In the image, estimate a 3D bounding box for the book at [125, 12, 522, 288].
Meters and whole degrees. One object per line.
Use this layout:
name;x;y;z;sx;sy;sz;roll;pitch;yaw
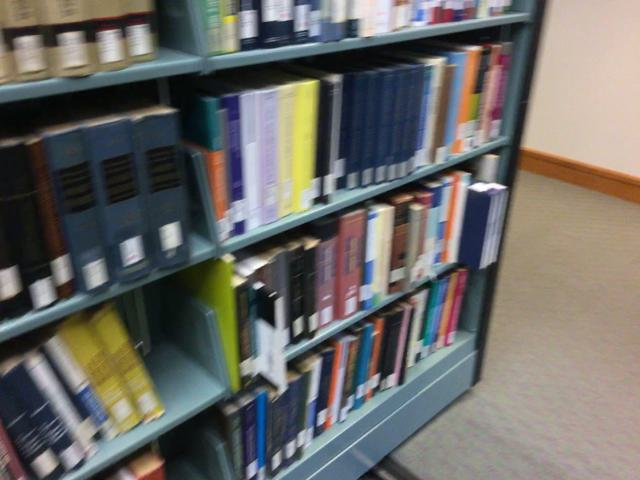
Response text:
book;0.090;-0.260;1.250;0.920;0.320;0.220;-27;34;-36

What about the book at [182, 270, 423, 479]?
book;0.000;0.340;1.420;0.640;0.270;0.140;-27;34;-36
